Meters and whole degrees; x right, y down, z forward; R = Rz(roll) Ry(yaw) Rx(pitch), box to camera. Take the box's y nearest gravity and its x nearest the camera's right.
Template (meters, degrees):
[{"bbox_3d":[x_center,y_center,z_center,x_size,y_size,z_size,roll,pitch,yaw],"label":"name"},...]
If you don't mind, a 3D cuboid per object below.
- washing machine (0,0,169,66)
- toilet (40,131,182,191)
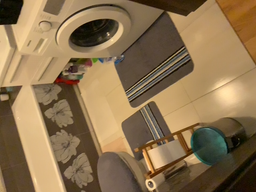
[{"bbox_3d":[-0.330,-0.660,1.450,0.650,0.850,0.630,-36,71,42],"label":"washing machine"},{"bbox_3d":[-0.060,0.690,1.460,0.390,0.790,0.640,-36,71,42],"label":"toilet"}]
